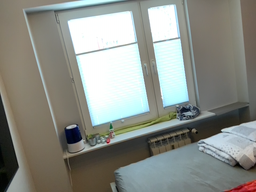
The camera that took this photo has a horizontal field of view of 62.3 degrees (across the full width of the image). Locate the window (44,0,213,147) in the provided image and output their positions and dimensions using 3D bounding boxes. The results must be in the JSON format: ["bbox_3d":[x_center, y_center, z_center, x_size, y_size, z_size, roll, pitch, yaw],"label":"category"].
[{"bbox_3d":[0.110,-0.340,2.380,1.650,1.460,0.130,-13,12,-11],"label":"window"}]
